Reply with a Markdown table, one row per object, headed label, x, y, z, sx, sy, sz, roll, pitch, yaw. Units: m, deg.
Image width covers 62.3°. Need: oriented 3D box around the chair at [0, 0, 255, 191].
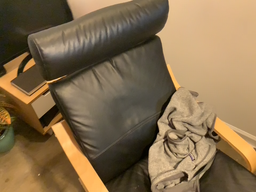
| label | x | y | z | sx | sy | sz | roll | pitch | yaw |
| --- | --- | --- | --- | --- | --- | --- | --- | --- | --- |
| chair | 0.120 | 0.200 | 0.960 | 0.700 | 0.940 | 0.830 | -32 | 57 | -24 |
